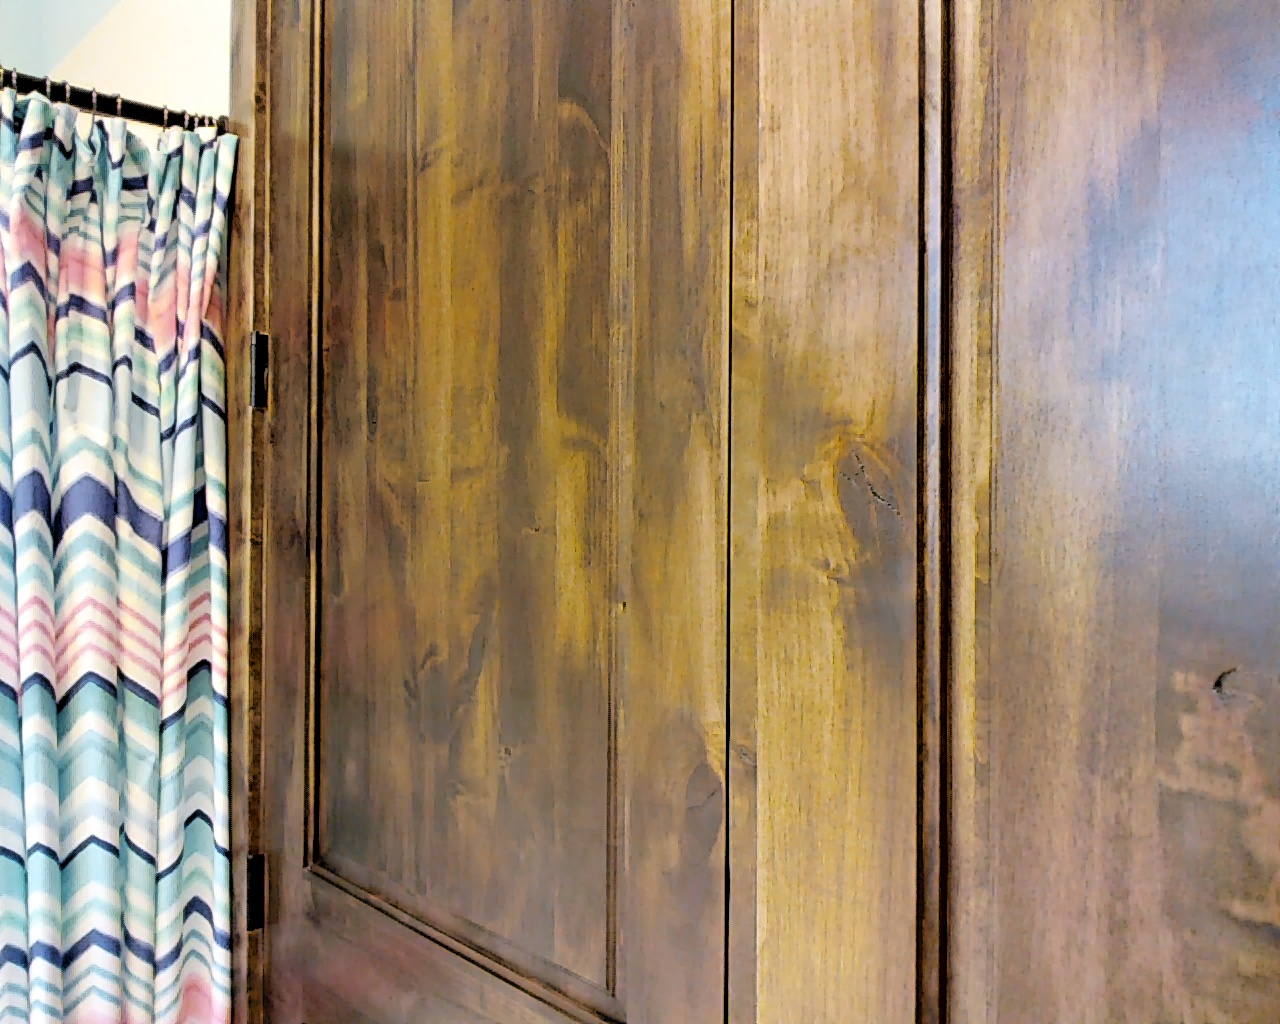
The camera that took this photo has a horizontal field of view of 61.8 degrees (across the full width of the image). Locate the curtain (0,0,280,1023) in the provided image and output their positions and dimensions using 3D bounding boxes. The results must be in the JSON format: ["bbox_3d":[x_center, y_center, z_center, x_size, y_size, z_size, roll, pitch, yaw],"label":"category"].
[{"bbox_3d":[-0.630,0.370,1.230,0.350,1.900,0.220,0,0,-42],"label":"curtain"}]
